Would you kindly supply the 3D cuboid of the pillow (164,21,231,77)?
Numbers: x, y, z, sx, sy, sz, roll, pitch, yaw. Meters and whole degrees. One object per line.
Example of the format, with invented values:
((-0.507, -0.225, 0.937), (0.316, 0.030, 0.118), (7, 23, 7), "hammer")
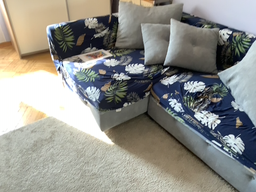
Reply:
((0.620, -0.450, 1.970), (0.490, 0.320, 0.390), (10, 37, 11), "pillow")

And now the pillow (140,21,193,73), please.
((0.340, -0.490, 2.070), (0.430, 0.320, 0.450), (3, 36, 1), "pillow")

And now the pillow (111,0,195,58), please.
((0.270, -0.780, 2.330), (0.790, 0.460, 0.260), (-16, 54, 17), "pillow")
